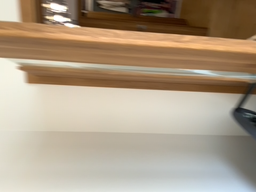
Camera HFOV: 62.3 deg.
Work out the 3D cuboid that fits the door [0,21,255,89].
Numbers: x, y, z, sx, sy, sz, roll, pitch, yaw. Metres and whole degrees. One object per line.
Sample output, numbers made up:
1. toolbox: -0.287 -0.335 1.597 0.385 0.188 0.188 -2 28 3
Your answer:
1. door: 0.550 -0.100 1.050 0.930 2.240 0.090 -160 73 -83
